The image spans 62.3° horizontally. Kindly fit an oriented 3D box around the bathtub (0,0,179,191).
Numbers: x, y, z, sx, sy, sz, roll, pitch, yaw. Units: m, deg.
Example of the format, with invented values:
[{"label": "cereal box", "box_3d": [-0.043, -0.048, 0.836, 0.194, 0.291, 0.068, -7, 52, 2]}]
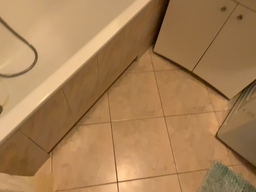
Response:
[{"label": "bathtub", "box_3d": [-0.380, -0.320, 1.150, 0.690, 0.540, 1.550, 35, 66, 10]}]
